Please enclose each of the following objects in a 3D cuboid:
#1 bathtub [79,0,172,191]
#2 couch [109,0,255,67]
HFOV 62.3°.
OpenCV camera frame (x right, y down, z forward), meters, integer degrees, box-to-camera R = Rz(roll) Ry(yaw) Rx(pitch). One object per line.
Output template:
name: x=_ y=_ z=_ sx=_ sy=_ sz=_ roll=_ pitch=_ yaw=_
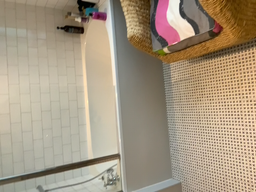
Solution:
bathtub: x=-0.070 y=-0.080 z=2.370 sx=0.800 sy=0.580 sz=1.910 roll=-7 pitch=87 yaw=57
couch: x=0.390 y=-0.660 z=1.430 sx=0.780 sy=0.750 sz=0.760 roll=-7 pitch=86 yaw=57
